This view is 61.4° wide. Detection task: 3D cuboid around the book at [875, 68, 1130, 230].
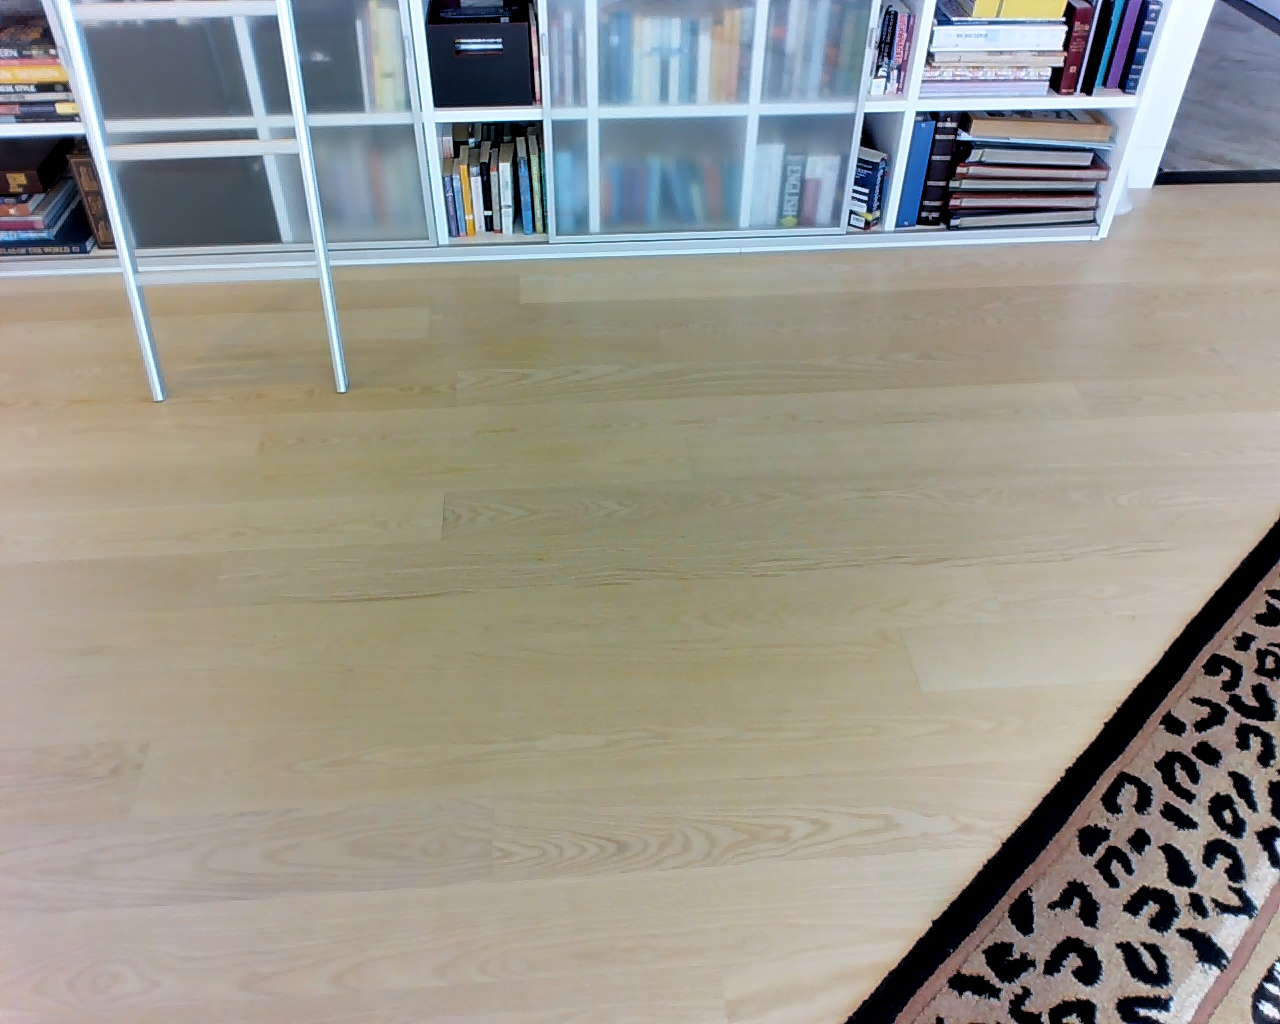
[{"bbox_3d":[0.970,-1.000,2.960,0.530,0.300,0.350,-2,41,-3],"label":"book"}]
